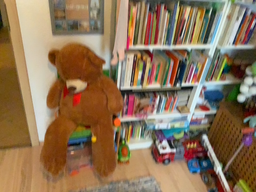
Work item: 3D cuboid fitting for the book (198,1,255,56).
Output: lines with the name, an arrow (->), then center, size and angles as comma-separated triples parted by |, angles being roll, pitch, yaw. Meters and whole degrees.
book -> 0.980, -0.510, 1.650 | 0.760, 0.330, 0.220 | -2, 35, -15

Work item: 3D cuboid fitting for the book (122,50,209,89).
book -> 0.270, -0.200, 1.600 | 0.580, 0.210, 0.200 | -2, 35, -14

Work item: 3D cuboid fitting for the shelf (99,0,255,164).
shelf -> 0.600, -0.340, 1.590 | 1.510, 1.940, 0.320 | -3, 36, -16
